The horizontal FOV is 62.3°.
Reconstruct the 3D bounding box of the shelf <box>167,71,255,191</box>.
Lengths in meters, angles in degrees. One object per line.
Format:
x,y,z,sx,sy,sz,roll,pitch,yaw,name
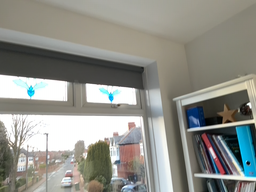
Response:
0.760,0.850,1.460,0.330,1.880,0.690,4,-16,-35,shelf
